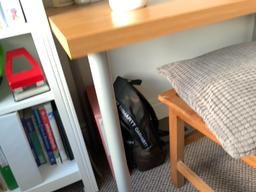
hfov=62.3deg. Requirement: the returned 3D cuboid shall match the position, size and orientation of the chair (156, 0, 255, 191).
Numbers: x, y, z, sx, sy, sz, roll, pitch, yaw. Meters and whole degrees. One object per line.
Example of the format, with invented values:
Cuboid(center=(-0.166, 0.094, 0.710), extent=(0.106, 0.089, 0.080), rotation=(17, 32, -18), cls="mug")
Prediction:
Cuboid(center=(0.410, 0.010, 0.610), extent=(0.420, 0.850, 0.480), rotation=(-21, 32, -21), cls="chair")
